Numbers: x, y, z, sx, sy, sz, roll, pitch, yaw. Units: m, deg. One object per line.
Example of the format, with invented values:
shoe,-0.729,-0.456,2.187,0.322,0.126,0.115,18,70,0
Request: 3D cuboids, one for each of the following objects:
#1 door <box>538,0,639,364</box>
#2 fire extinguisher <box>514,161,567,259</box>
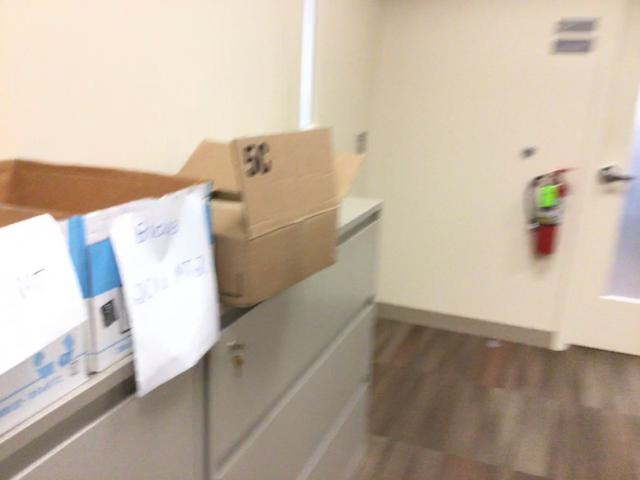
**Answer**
door,1.580,-0.550,2.560,0.980,2.330,0.180,4,15,20
fire extinguisher,1.060,-0.150,2.790,0.200,0.430,0.200,4,15,20
